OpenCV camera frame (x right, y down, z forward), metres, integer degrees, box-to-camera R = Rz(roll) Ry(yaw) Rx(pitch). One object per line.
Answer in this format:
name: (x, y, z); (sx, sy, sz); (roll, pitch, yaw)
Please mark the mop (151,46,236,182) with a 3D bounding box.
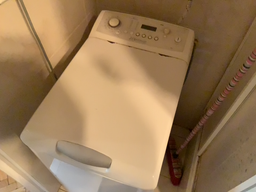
mop: (0.310, 0.170, 1.170); (0.180, 0.810, 0.340); (19, 56, 12)
